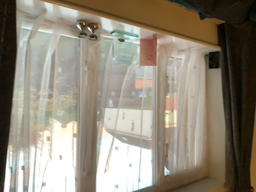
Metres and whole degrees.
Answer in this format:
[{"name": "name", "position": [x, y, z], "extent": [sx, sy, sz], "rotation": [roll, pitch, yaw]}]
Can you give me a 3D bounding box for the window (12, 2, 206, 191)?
[{"name": "window", "position": [0.080, 0.130, 1.480], "extent": [1.560, 1.130, 0.030], "rotation": [1, 179, -37]}]
